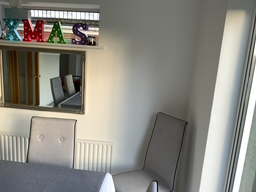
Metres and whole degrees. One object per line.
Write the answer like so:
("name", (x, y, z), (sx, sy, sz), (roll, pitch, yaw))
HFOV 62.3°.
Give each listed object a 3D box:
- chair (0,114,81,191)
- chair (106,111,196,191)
("chair", (-0.630, 0.730, 1.560), (0.420, 1.040, 0.580), (4, 11, -2))
("chair", (0.180, 0.720, 1.910), (0.570, 1.030, 0.460), (-4, 14, -37))
